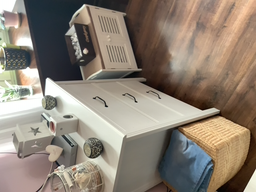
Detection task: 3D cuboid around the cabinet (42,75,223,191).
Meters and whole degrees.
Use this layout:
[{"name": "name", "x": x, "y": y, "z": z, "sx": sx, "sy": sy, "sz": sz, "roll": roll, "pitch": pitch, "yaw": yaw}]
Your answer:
[{"name": "cabinet", "x": 0.020, "y": 0.220, "z": 1.530, "sx": 0.800, "sy": 0.940, "sz": 0.510, "roll": 29, "pitch": 116, "yaw": 41}]
